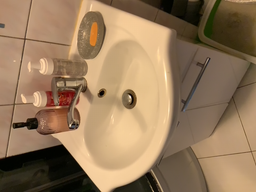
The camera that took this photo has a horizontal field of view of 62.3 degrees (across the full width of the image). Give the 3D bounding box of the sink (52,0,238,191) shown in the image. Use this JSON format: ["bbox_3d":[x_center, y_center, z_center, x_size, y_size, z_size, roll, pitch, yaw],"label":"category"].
[{"bbox_3d":[-0.010,0.030,0.660,0.410,0.170,0.510,36,115,35],"label":"sink"}]
